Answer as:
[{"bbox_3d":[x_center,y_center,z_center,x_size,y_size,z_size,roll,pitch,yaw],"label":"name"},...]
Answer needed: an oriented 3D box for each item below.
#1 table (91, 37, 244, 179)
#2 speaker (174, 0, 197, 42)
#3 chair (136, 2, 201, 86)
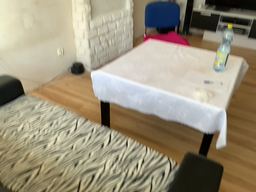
[{"bbox_3d":[0.360,-0.020,1.870,0.930,0.590,0.950,20,37,25],"label":"table"},{"bbox_3d":[1.160,-1.710,4.170,0.260,1.230,0.200,22,38,28],"label":"speaker"},{"bbox_3d":[0.440,-0.650,2.610,0.510,0.860,0.540,-5,33,-12],"label":"chair"}]
